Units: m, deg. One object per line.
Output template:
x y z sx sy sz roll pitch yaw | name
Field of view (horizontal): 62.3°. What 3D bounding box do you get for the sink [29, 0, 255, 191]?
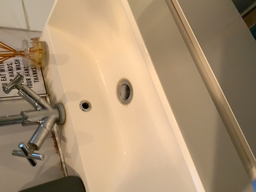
-0.040 -0.030 0.450 0.420 0.130 0.520 -36 67 45 | sink
